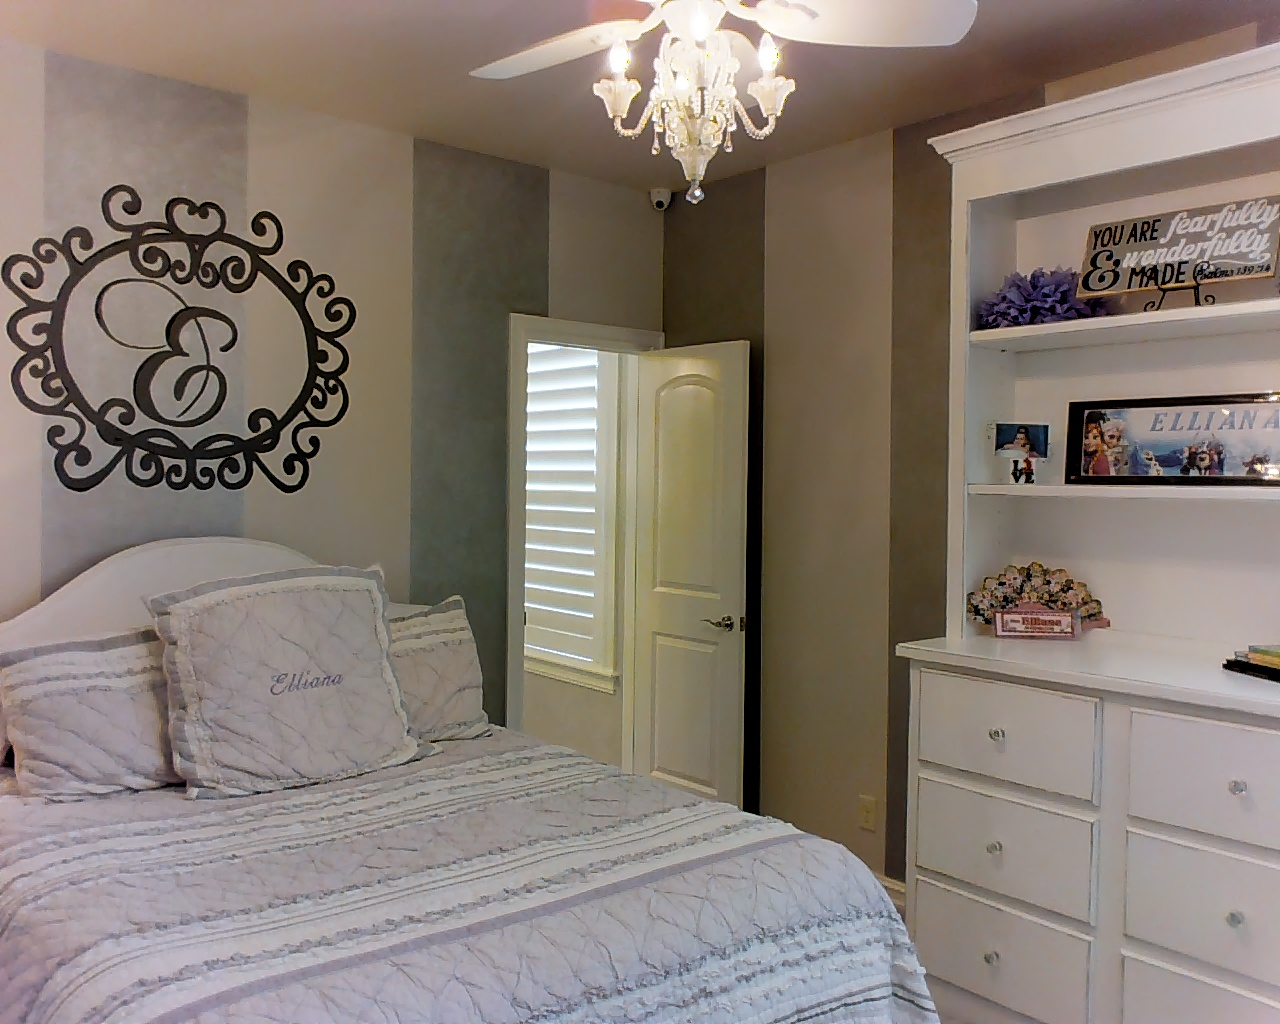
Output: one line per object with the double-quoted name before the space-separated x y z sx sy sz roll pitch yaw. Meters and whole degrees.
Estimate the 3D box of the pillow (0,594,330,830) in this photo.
"pillow" -1.250 0.480 2.790 0.750 0.470 0.380 1 1 -40

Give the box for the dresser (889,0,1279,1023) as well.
"dresser" 1.390 0.150 2.800 0.570 2.600 1.300 1 1 -40

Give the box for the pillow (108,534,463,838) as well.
"pillow" -0.930 0.470 2.880 0.670 0.610 0.310 28 -17 -37

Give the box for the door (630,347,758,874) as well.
"door" 0.210 0.380 4.420 0.060 2.050 0.650 1 1 -40
